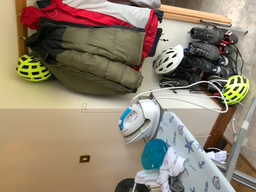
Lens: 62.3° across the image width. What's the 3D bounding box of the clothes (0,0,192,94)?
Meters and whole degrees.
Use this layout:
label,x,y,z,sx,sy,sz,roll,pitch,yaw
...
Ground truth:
label,x,y,z,sx,sy,sz,roll,pitch,yaw
clothes,-0.210,-0.380,1.590,0.520,1.180,0.620,151,118,-67
